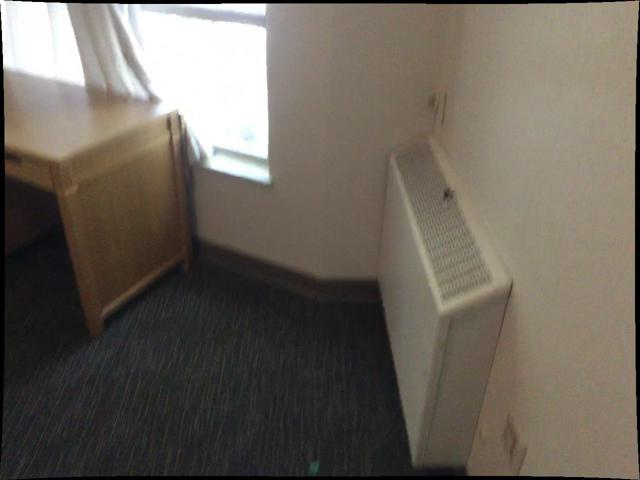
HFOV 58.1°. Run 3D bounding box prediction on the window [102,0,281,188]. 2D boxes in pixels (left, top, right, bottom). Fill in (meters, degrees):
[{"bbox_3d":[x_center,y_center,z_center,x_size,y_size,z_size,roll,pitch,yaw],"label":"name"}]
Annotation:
[{"bbox_3d":[-0.489,-0.621,2.300,0.609,0.641,0.260,18,38,19],"label":"window"}]
